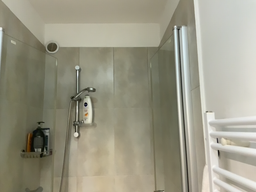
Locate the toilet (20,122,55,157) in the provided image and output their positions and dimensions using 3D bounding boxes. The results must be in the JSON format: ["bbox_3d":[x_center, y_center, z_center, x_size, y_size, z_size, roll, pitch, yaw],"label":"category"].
[{"bbox_3d":[-0.720,0.340,1.720,0.160,0.250,0.340,0,-9,-7],"label":"toilet"}]
